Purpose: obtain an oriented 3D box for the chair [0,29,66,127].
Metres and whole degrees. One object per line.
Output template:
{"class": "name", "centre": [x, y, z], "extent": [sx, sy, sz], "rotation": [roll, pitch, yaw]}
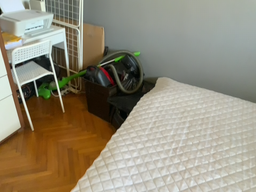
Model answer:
{"class": "chair", "centre": [-0.910, -0.170, 1.990], "extent": [0.410, 0.750, 0.370], "rotation": [20, 36, 23]}
